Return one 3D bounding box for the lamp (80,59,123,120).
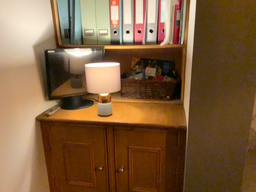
[{"bbox_3d":[-0.140,-0.050,1.230,0.180,0.300,0.230,2,17,8],"label":"lamp"}]
